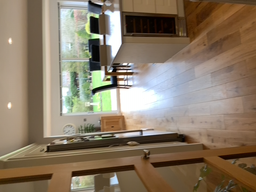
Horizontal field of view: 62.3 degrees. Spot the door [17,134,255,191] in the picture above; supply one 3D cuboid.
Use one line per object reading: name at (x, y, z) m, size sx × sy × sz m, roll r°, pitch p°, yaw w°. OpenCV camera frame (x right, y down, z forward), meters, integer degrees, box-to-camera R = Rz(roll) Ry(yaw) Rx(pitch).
door at (0.340, 0.410, 1.050) m, size 0.820 × 1.610 × 0.110 m, roll -151°, pitch 60°, yaw -75°
